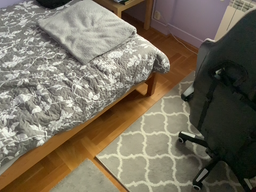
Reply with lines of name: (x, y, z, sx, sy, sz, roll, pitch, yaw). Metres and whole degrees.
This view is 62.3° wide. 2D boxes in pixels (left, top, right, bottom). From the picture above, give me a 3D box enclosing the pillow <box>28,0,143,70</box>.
pillow: (-0.330, -0.550, 1.640, 0.730, 0.120, 0.510, 37, 57, 24)
